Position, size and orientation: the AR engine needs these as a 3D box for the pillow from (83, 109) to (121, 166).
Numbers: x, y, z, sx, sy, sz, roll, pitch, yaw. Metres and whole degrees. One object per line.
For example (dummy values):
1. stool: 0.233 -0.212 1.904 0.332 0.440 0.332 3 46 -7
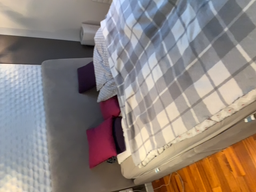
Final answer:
1. pillow: -0.280 0.420 2.170 0.360 0.210 0.450 -55 44 49
